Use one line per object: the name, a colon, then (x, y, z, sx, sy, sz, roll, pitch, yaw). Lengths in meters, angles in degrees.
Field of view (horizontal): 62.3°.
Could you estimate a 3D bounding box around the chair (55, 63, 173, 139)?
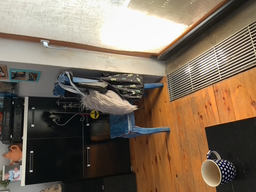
chair: (-0.140, 0.080, 1.950, 0.410, 0.960, 0.540, -32, 59, 59)
